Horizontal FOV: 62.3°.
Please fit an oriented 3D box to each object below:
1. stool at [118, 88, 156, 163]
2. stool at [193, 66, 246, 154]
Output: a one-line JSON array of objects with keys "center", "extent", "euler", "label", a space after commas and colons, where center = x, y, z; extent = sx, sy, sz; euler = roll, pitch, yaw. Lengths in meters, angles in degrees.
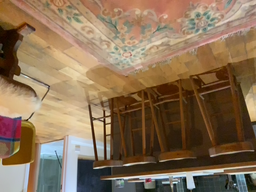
[{"center": [0.100, 0.360, 2.540], "extent": [0.290, 0.800, 0.300], "euler": [-16, 154, 27], "label": "stool"}, {"center": [0.910, 0.150, 2.140], "extent": [0.290, 0.800, 0.300], "euler": [-16, 154, 27], "label": "stool"}]
